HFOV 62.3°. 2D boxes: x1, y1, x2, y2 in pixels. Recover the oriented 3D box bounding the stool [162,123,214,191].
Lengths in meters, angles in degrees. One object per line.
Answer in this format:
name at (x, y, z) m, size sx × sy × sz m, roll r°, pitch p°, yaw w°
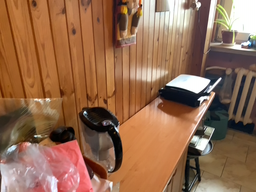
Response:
stool at (0.480, 0.510, 1.700) m, size 0.260 × 0.420 × 0.330 m, roll 16°, pitch 29°, yaw 29°
